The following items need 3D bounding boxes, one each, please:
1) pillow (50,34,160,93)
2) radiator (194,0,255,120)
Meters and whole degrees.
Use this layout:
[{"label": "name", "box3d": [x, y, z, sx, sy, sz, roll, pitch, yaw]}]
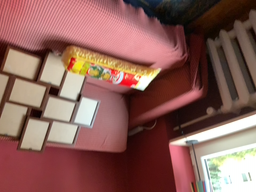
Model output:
[{"label": "pillow", "box3d": [-0.120, -0.170, 1.300, 0.640, 0.110, 0.190, 13, 148, -30]}, {"label": "radiator", "box3d": [0.800, -0.280, 1.400, 0.230, 0.710, 0.530, 16, 147, -34]}]
